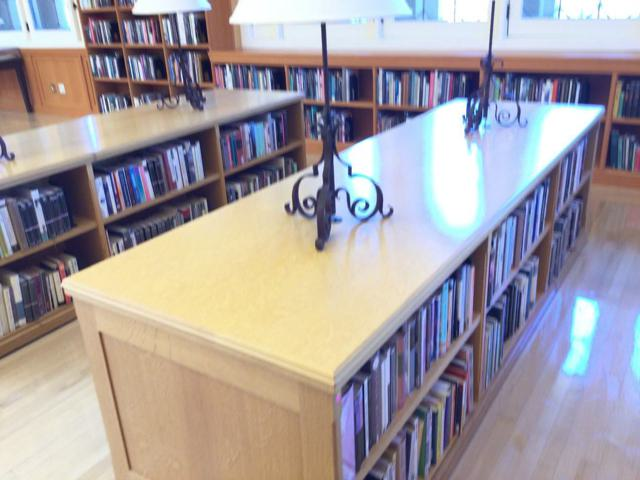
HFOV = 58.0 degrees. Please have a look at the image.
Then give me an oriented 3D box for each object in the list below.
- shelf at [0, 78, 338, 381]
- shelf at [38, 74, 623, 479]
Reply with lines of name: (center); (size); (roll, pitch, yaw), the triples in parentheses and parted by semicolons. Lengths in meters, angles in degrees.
shelf: (-0.770, -0.280, 3.250); (0.400, 0.820, 2.470); (12, 29, 33)
shelf: (0.460, -0.010, 2.360); (0.860, 0.870, 2.710); (12, 29, 33)
